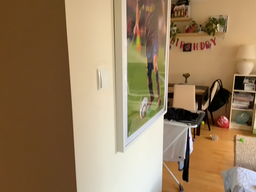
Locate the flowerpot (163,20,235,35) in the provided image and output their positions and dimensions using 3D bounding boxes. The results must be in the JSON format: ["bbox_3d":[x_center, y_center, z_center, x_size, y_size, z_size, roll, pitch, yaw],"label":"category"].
[{"bbox_3d":[1.390,-1.370,4.270,1.330,0.210,0.280,5,14,22],"label":"flowerpot"}]
